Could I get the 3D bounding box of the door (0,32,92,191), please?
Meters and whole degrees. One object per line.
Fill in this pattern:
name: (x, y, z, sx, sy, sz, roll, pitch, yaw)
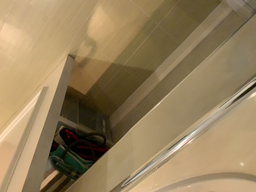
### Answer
door: (-0.460, 0.520, 0.550, 0.830, 2.100, 0.140, -41, 120, 20)
